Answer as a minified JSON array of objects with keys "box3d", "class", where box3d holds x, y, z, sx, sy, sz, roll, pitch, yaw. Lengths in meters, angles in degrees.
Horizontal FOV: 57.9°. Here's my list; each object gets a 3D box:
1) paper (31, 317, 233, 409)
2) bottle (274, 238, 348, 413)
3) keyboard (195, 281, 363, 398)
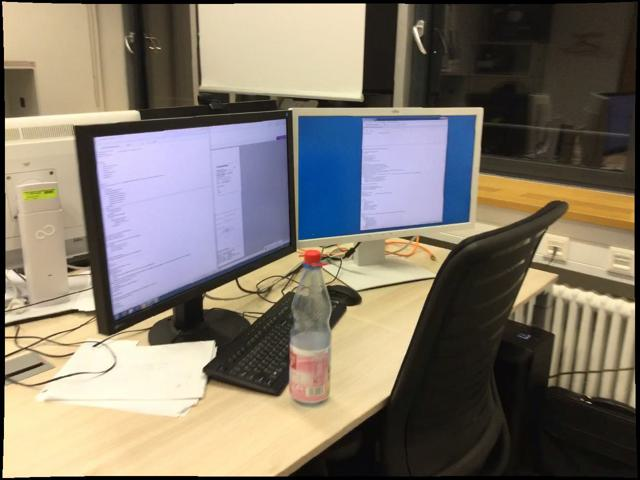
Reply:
[{"box3d":[-0.380,0.250,1.230,0.320,0.030,0.280,4,18,7],"class":"paper"},{"box3d":[-0.020,0.160,1.100,0.100,0.300,0.090,15,22,37],"class":"bottle"},{"box3d":[-0.070,0.210,1.370,0.170,0.030,0.510,9,19,23],"class":"keyboard"}]
